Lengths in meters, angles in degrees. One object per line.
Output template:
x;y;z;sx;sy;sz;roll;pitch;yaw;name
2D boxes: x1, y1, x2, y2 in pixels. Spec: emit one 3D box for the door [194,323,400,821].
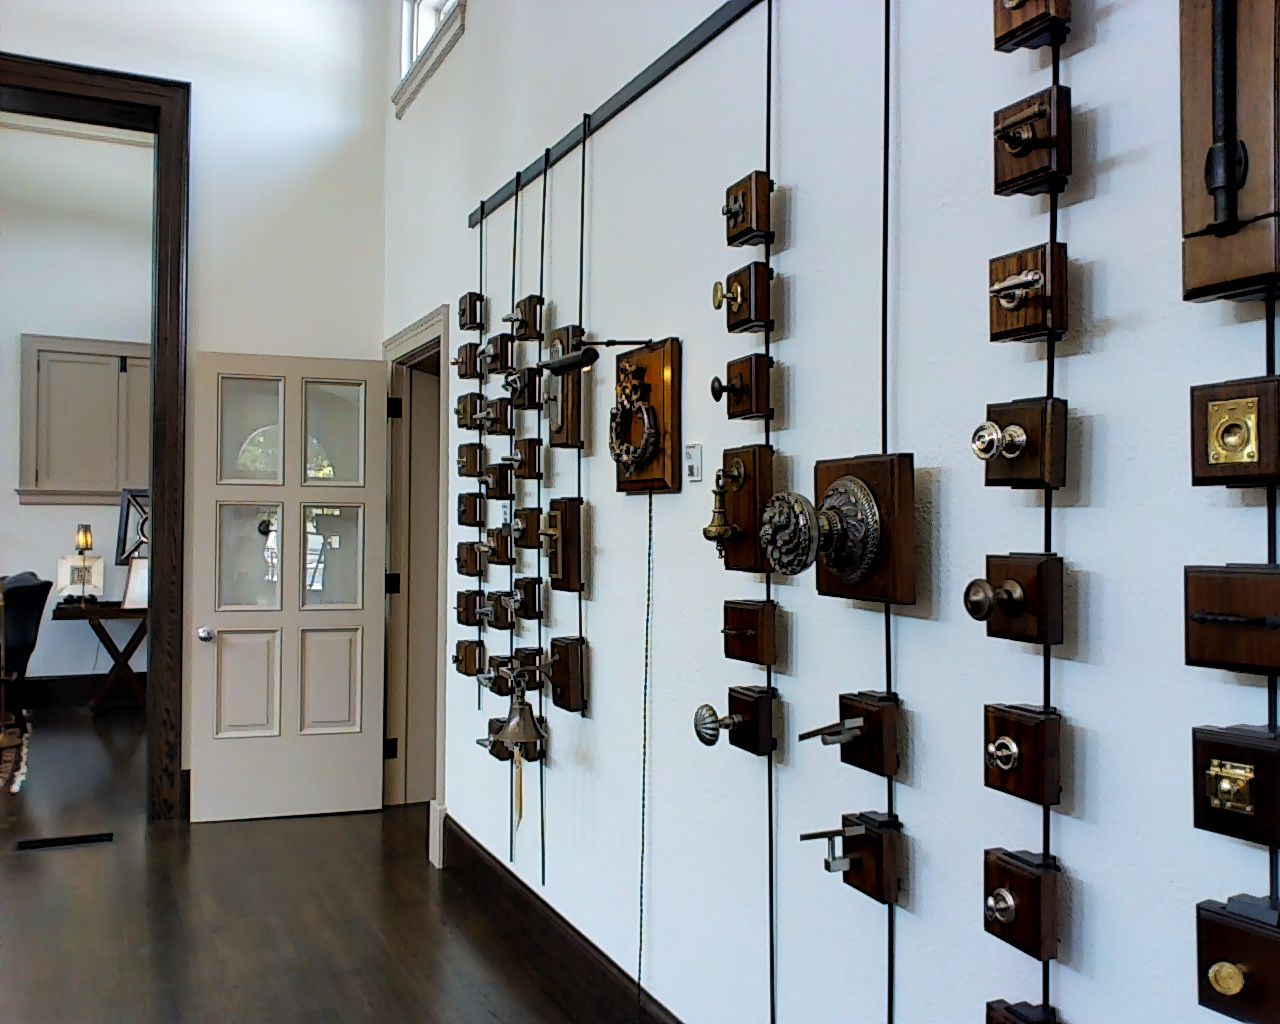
-1.720;0.290;5.420;0.950;2.380;0.180;1;0;-26;door
